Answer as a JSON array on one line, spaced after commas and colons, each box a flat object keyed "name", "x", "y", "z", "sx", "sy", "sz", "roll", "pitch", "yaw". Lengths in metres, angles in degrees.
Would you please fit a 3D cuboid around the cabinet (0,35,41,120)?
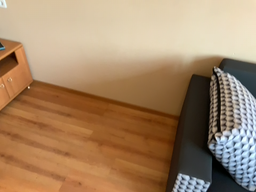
[{"name": "cabinet", "x": -1.320, "y": -0.180, "z": 1.980, "sx": 0.530, "sy": 0.510, "sz": 0.710, "roll": 14, "pitch": 41, "yaw": 13}]

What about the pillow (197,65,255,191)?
[{"name": "pillow", "x": 0.640, "y": 0.170, "z": 1.210, "sx": 0.330, "sy": 0.340, "sz": 0.690, "roll": 15, "pitch": 42, "yaw": 14}]
